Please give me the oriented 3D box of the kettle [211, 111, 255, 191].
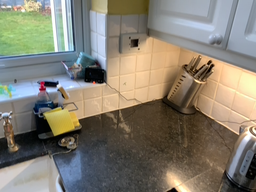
[{"bbox_3d":[0.490,0.220,0.830,0.190,0.220,0.190,-13,31,-30],"label":"kettle"}]
